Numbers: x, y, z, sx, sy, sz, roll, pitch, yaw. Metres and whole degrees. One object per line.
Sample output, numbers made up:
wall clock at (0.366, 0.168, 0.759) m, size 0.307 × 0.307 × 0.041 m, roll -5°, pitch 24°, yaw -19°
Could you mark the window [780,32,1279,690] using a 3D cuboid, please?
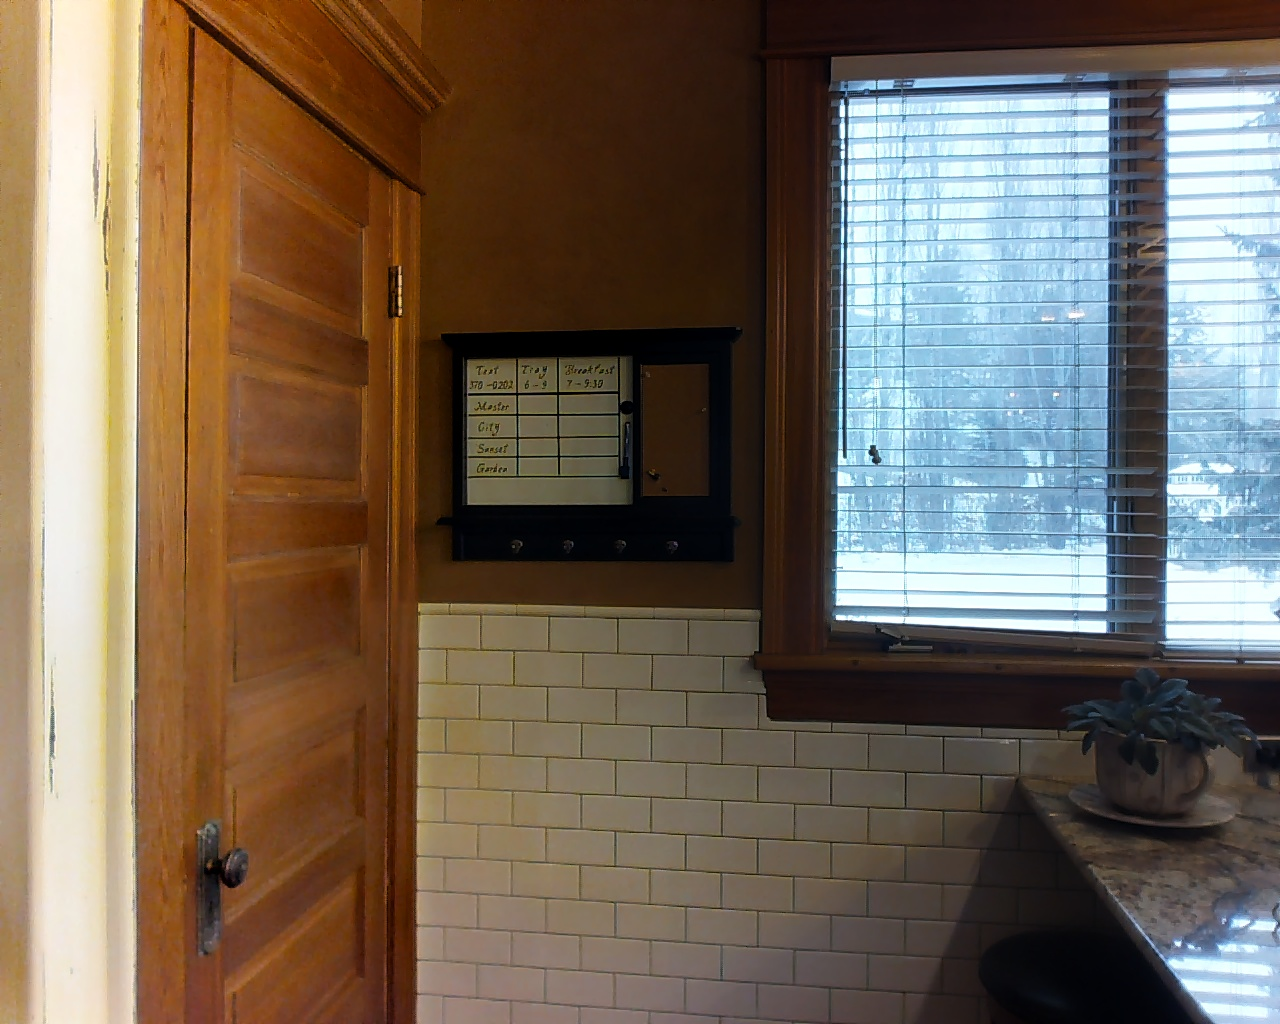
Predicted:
window at (1.429, -0.300, 2.220) m, size 2.259 × 1.310 × 0.190 m, roll 0°, pitch 0°, yaw 7°
